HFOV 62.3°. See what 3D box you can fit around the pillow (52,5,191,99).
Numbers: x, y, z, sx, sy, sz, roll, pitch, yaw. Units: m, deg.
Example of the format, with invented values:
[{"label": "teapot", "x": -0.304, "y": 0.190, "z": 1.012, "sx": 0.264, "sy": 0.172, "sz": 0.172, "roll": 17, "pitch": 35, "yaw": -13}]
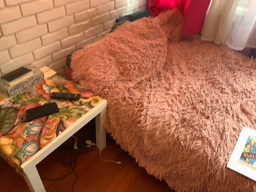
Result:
[{"label": "pillow", "x": 0.000, "y": -0.400, "z": 1.590, "sx": 0.530, "sy": 0.210, "sz": 0.910, "roll": 31, "pitch": 47, "yaw": 26}]
